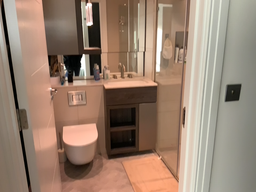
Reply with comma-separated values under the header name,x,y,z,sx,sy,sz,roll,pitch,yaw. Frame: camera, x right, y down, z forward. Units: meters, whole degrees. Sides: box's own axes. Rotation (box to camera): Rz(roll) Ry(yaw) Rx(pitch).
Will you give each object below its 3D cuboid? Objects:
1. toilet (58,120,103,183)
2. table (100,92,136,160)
name,x,y,z,sx,sy,sz,roll,pitch,yaw
toilet,-0.520,0.580,2.330,0.390,0.440,0.490,-6,16,-13
table,-0.140,0.350,2.680,0.360,0.680,0.480,-4,16,-13
